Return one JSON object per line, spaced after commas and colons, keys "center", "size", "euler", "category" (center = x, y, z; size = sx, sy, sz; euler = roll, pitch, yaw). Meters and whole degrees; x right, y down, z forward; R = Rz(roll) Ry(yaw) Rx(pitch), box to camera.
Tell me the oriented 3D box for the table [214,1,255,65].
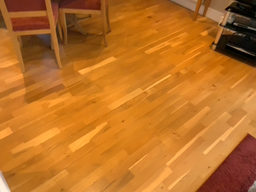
{"center": [1.430, -0.740, 2.460], "size": [0.540, 0.430, 0.470], "euler": [34, 52, 24], "category": "table"}
